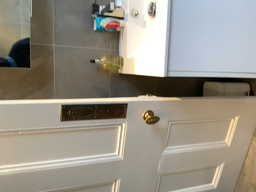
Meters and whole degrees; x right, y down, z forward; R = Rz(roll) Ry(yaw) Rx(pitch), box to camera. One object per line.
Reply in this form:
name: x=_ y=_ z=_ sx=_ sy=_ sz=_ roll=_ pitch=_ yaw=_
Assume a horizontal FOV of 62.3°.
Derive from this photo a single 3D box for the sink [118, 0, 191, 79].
sink: x=0.090 y=-0.400 z=0.960 sx=0.490 sy=0.100 sz=0.610 roll=-159 pitch=70 yaw=-67
